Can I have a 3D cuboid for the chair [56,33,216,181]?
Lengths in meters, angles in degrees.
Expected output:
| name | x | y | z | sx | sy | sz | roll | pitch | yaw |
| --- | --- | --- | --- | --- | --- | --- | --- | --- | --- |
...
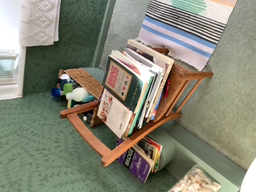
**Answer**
| name | x | y | z | sx | sy | sz | roll | pitch | yaw |
| --- | --- | --- | --- | --- | --- | --- | --- | --- | --- |
| chair | 0.050 | 0.000 | 1.010 | 0.360 | 0.590 | 0.440 | 35 | 120 | 32 |
